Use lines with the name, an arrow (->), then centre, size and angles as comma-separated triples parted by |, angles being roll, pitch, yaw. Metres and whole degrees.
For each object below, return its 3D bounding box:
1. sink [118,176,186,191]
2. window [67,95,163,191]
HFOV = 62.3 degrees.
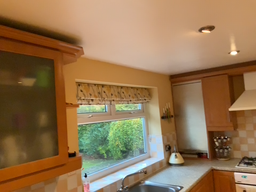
sink -> 0.250, 1.000, 2.150 | 0.530, 0.180, 0.450 | -7, -5, 35
window -> -0.040, 0.490, 2.480 | 0.190, 0.970, 1.450 | -7, -5, 35
